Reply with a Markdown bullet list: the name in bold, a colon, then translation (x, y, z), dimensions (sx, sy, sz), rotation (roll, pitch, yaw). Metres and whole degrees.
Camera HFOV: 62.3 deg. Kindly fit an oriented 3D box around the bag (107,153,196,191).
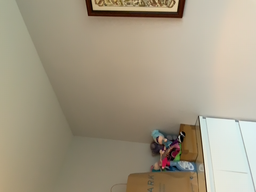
- **bag**: translation (0.150, 0.740, 1.480), dimensions (0.360, 0.560, 0.500), rotation (86, -169, -54)
